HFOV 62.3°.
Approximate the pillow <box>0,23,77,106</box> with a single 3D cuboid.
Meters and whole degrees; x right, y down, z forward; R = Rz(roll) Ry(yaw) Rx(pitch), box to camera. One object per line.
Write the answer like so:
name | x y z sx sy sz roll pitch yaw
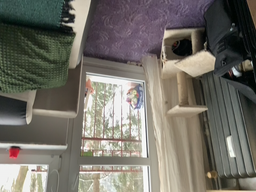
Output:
pillow | -0.570 -0.180 1.250 0.480 0.400 0.150 7 -162 -16
